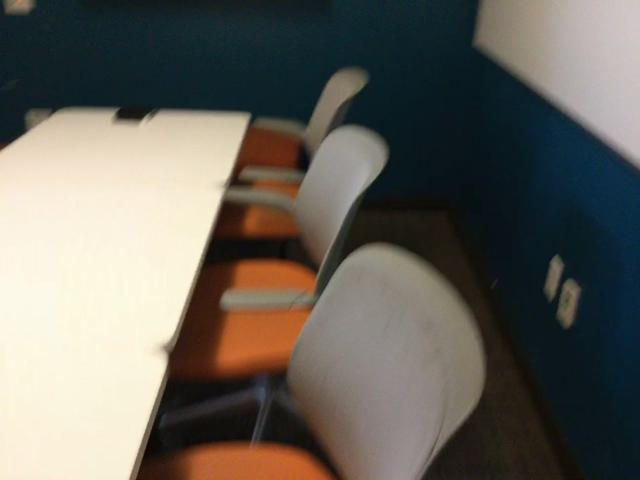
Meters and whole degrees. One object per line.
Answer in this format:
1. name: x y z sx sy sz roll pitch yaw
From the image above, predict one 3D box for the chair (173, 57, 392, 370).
1. chair: -0.200 -0.120 2.160 0.640 0.950 0.630 -2 28 -13
